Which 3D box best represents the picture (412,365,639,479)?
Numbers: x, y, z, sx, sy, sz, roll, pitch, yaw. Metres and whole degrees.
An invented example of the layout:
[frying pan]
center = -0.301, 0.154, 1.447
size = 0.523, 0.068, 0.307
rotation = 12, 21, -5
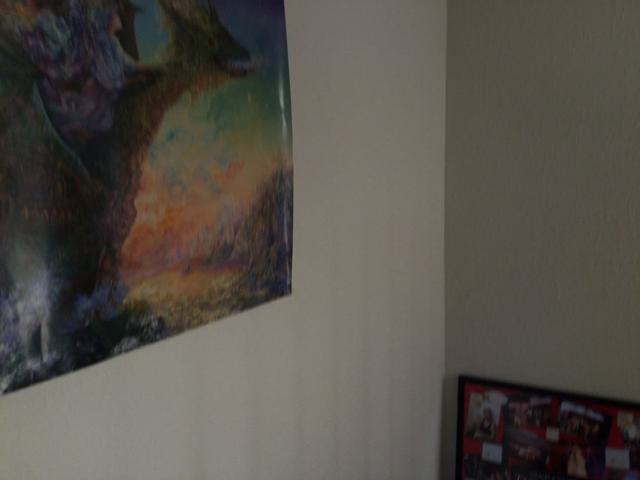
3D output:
[picture]
center = 0.700, 0.890, 1.760
size = 0.750, 0.940, 0.160
rotation = -4, 3, 35
